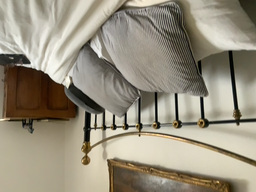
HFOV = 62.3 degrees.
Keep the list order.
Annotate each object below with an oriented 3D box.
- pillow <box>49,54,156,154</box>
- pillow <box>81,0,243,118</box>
[{"bbox_3d":[-0.180,0.030,1.360,0.230,0.530,0.510,-49,-148,-4],"label":"pillow"},{"bbox_3d":[0.130,-0.150,0.900,0.480,0.480,0.180,9,-118,52],"label":"pillow"}]
